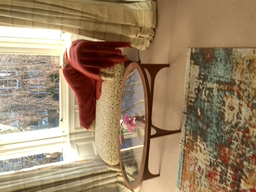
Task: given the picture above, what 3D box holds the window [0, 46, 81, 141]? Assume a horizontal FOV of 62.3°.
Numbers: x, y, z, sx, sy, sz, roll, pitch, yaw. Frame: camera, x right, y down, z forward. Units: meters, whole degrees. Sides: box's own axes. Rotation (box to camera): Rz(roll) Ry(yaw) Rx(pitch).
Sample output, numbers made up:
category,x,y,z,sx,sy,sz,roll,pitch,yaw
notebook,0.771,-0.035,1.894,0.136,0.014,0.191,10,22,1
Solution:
category,x,y,z,sx,sy,sz,roll,pitch,yaw
window,-1.770,-0.030,2.790,0.260,2.250,1.240,25,115,58
